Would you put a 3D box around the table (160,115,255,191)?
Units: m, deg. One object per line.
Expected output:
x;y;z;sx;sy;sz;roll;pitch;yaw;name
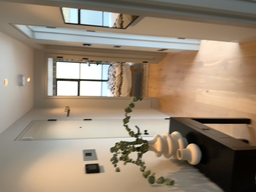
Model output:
0.820;0.360;1.660;0.910;0.820;0.260;-160;72;-75;table

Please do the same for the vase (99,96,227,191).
0.150;0.270;1.430;0.700;0.590;0.450;-154;66;-74;vase
